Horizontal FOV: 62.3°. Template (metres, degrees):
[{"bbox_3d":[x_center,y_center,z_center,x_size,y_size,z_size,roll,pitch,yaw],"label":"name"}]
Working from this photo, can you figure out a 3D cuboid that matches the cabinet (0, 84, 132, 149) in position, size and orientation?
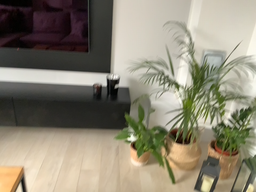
[{"bbox_3d":[-1.090,0.180,2.020,2.200,0.460,0.370,2,24,-6],"label":"cabinet"}]

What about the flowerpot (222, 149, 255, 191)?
[{"bbox_3d":[0.910,0.630,1.600,0.200,0.320,0.290,3,24,-4],"label":"flowerpot"}]
